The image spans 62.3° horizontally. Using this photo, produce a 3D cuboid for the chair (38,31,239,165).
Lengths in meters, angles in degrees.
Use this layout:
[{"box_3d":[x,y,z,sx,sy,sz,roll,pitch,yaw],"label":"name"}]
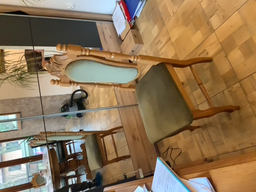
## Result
[{"box_3d":[0.060,-0.010,1.400,0.470,1.120,0.570,-48,54,53],"label":"chair"}]
